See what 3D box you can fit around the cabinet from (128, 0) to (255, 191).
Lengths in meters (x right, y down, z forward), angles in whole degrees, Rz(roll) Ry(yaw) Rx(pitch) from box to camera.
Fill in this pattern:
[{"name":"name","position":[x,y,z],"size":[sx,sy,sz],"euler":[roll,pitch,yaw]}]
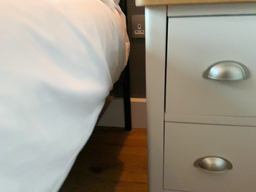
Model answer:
[{"name":"cabinet","position":[0.240,0.030,0.600],"size":[0.410,0.600,0.340],"euler":[2,24,9]}]
